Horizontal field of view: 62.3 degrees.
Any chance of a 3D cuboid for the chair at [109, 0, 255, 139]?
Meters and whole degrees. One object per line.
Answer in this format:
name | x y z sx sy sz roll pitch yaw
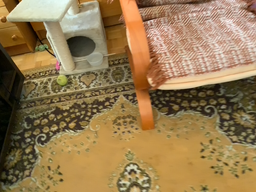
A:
chair | 0.280 -0.460 0.970 0.670 0.950 0.800 -14 51 -3
